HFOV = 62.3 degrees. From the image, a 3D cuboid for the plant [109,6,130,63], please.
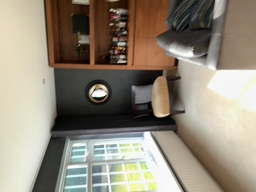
[{"bbox_3d":[-0.170,-1.120,3.900,0.300,0.300,0.970,-115,27,-67],"label":"plant"}]
